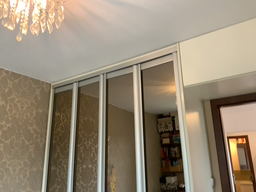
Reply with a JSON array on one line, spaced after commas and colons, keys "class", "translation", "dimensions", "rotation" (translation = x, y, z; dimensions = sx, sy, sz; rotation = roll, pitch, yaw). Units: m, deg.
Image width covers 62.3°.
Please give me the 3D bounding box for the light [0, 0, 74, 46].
[{"class": "light", "translation": [-0.520, -0.500, 1.110], "dimensions": [0.330, 0.300, 0.270], "rotation": [32, 55, -51]}]
